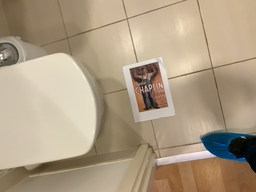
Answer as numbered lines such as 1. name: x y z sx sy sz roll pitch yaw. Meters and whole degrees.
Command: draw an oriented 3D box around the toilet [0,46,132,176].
1. toilet: -0.330 0.060 0.940 0.560 0.440 0.370 -12 93 12
